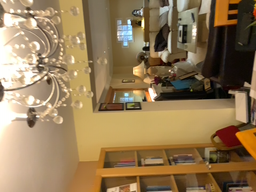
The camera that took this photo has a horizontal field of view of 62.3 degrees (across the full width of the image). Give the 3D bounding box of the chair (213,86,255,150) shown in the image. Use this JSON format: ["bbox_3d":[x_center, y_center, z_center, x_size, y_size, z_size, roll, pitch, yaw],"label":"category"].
[{"bbox_3d":[1.320,0.190,2.090,0.420,0.750,0.480,-92,0,-73],"label":"chair"}]
